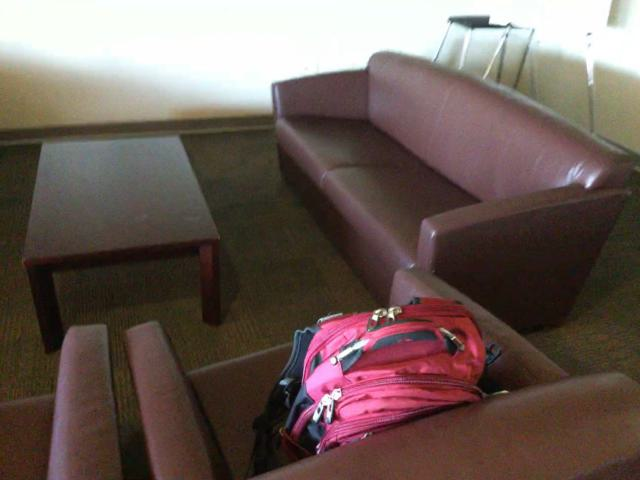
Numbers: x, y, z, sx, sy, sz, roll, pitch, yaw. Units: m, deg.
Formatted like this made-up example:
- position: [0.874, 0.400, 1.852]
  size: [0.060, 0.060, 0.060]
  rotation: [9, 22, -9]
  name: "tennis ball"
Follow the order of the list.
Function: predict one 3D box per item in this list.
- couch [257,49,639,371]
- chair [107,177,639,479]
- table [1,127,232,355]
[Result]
- position: [0.370, -0.280, 2.460]
  size: [0.770, 0.870, 1.610]
  rotation: [-11, 18, -19]
  name: "couch"
- position: [0.100, 0.430, 1.160]
  size: [0.830, 0.820, 0.790]
  rotation: [-9, 25, -14]
  name: "chair"
- position: [-0.770, -0.080, 2.290]
  size: [0.670, 0.370, 1.040]
  rotation: [-4, 33, -17]
  name: "table"
